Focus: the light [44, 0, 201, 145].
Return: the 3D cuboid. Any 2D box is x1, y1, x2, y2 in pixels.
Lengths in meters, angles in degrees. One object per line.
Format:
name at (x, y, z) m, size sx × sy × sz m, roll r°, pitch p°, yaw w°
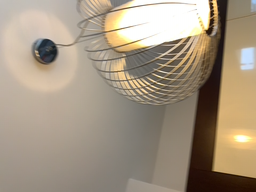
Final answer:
light at (-0.030, -0.240, 0.920) m, size 0.380 × 0.470 × 0.810 m, roll -16°, pitch -103°, yaw 35°
